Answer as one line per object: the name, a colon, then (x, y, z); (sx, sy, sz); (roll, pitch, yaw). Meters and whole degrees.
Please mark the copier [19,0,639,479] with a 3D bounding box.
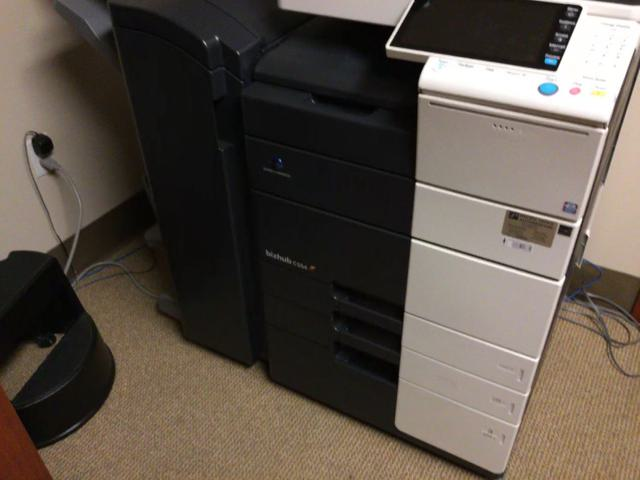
copier: (0.070, -0.210, 1.360); (1.120, 1.150, 0.660); (17, 42, 24)
